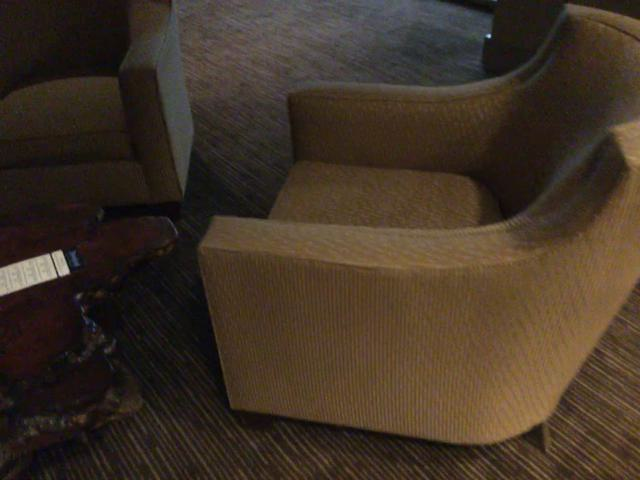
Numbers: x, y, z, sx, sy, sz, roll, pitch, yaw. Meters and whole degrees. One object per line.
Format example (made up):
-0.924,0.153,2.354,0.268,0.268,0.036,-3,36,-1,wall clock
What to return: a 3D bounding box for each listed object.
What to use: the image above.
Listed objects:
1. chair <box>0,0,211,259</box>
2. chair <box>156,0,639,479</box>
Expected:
-0.950,-0.620,2.210,0.960,0.890,1.070,-4,36,-7,chair
0.300,-0.060,1.450,0.980,0.880,0.890,7,36,8,chair
